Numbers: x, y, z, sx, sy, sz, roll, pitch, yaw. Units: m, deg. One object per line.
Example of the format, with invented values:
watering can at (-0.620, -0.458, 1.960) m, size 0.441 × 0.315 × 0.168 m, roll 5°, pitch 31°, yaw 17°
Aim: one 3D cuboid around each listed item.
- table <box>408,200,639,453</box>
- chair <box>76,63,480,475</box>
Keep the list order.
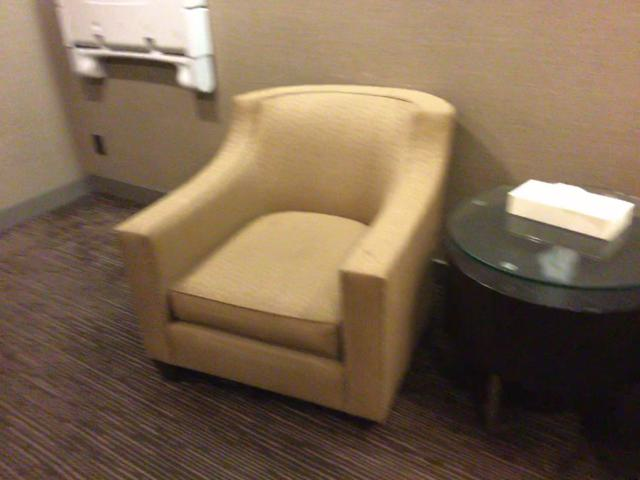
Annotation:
table at (0.590, 0.190, 1.550) m, size 0.580 × 0.390 × 0.360 m, roll 16°, pitch 31°, yaw 30°
chair at (-0.030, -0.030, 1.940) m, size 0.880 × 0.900 × 0.980 m, roll 9°, pitch 28°, yaw 20°
